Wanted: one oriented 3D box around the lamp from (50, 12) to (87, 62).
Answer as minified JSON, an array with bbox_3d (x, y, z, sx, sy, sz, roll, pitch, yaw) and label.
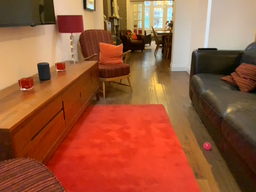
[{"bbox_3d":[-0.730,-0.740,2.680,0.340,0.580,0.230,1,19,4],"label":"lamp"}]
